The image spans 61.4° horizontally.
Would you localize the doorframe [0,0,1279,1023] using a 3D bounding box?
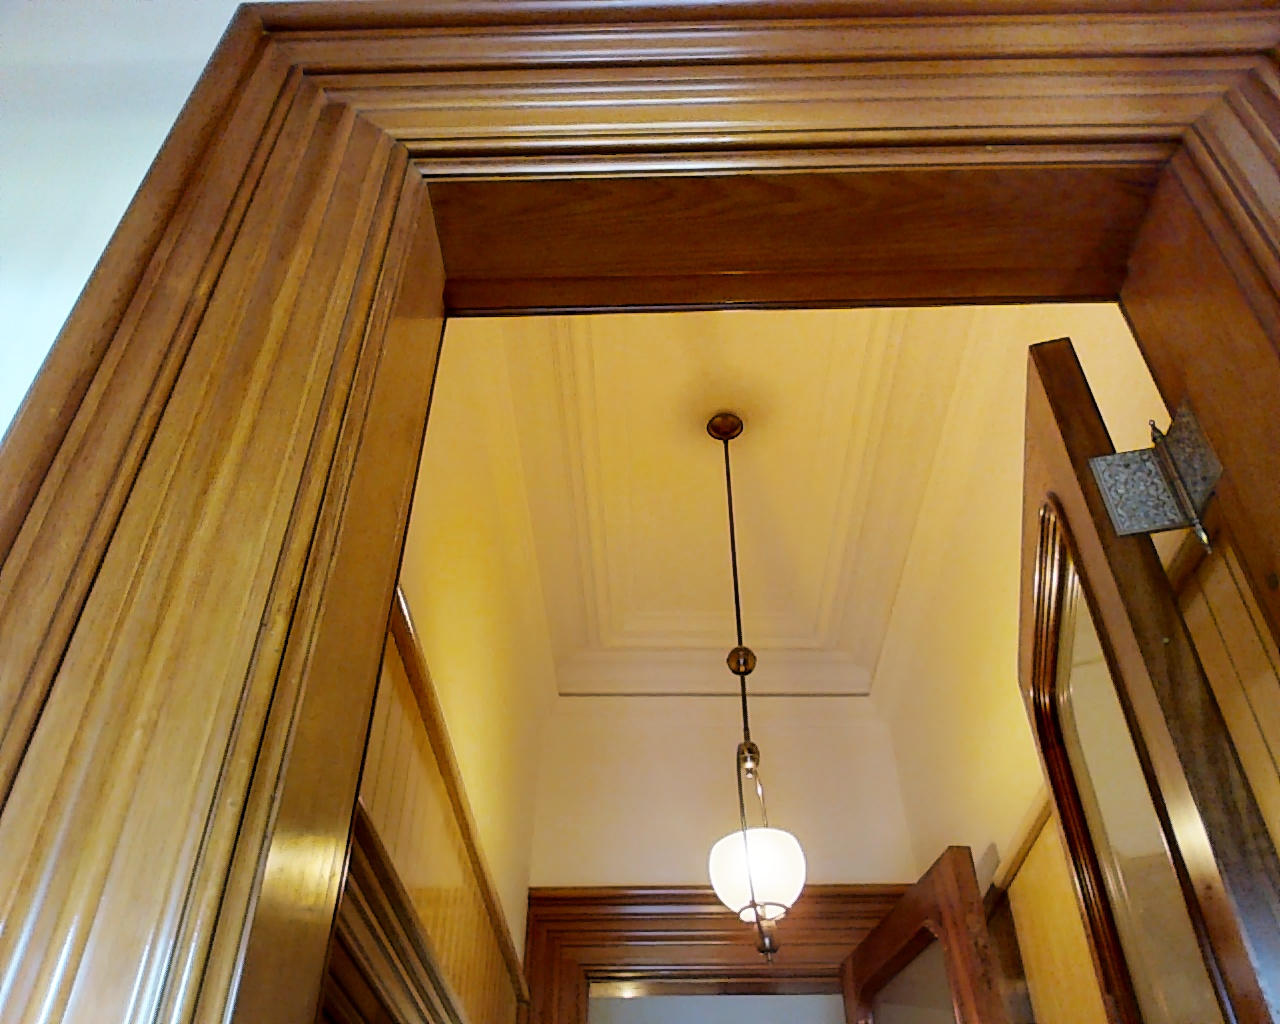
[{"bbox_3d":[0.180,0.370,0.530,1.419,3.131,0.160,-1,-42,1],"label":"doorframe"}]
